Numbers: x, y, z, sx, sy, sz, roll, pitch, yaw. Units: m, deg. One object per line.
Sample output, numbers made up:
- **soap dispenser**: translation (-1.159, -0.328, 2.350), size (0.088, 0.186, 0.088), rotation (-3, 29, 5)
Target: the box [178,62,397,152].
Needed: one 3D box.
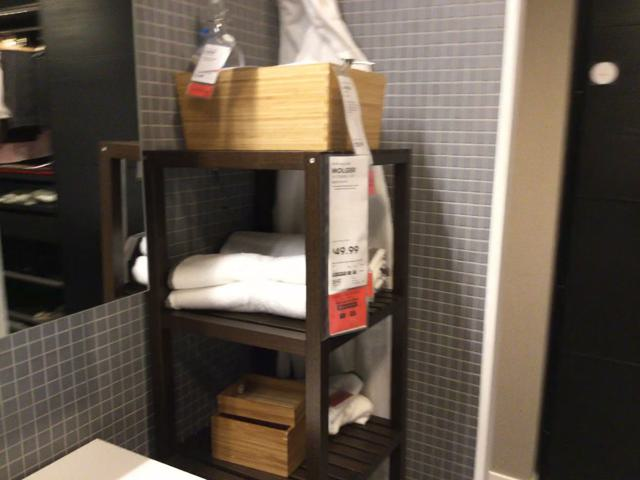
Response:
- **box**: translation (-0.060, -0.240, 1.110), size (0.340, 0.140, 0.240), rotation (6, 10, 32)

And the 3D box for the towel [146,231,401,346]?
- **towel**: translation (-0.090, 0.070, 1.070), size (0.420, 0.120, 0.220), rotation (6, 10, 32)

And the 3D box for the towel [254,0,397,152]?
- **towel**: translation (0.010, -0.430, 1.260), size (0.270, 0.470, 0.150), rotation (6, 10, 32)

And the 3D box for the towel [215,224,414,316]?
- **towel**: translation (-0.010, 0.050, 1.240), size (0.350, 0.120, 0.240), rotation (6, 10, 32)
